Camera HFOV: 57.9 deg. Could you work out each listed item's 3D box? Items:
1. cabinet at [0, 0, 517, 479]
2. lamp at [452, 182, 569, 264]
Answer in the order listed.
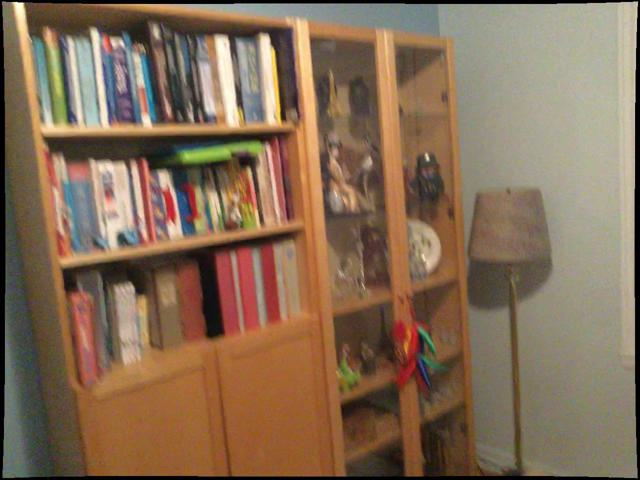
[{"bbox_3d":[-0.030,0.250,1.970,1.689,1.992,0.450,-13,11,-39],"label":"cabinet"},{"bbox_3d":[0.769,-0.080,2.330,0.330,0.270,0.310,-13,11,-39],"label":"lamp"}]
